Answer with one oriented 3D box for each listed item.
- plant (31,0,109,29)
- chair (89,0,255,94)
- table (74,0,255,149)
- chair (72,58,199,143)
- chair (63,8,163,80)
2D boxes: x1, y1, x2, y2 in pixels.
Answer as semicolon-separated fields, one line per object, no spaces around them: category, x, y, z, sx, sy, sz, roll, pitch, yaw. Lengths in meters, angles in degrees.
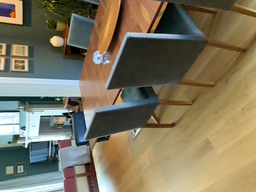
plant;-1.020;-1.570;3.760;0.350;1.240;0.470;-61;38;43
chair;0.290;-0.380;1.510;0.430;0.970;0.560;-60;38;43
table;0.200;-0.590;1.920;2.520;0.770;1.010;-59;39;44
chair;0.040;0.040;1.980;0.430;0.970;0.560;-63;37;41
chair;-0.190;-0.570;2.460;0.430;0.970;0.560;-60;39;43
